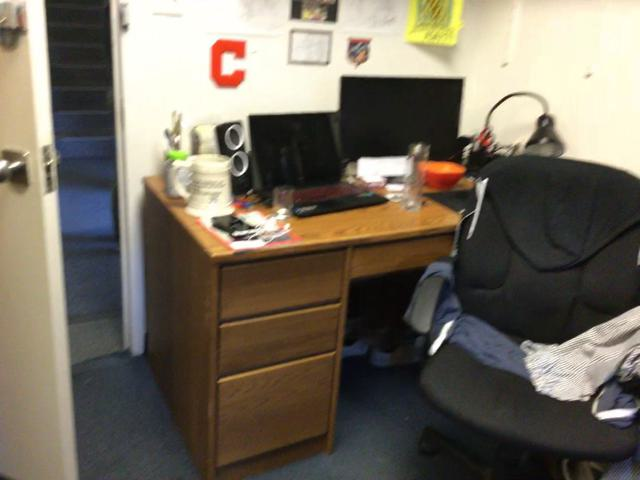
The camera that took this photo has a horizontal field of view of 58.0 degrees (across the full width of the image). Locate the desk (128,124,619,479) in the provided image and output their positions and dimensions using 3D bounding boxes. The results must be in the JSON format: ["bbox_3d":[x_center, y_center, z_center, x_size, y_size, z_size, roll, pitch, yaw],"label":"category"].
[{"bbox_3d":[0.170,0.100,2.200,1.540,0.900,0.820,-7,24,-28],"label":"desk"}]

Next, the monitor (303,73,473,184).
[{"bbox_3d":[0.260,-0.430,2.190,0.620,0.360,0.170,-7,24,-28],"label":"monitor"}]

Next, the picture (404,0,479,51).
[{"bbox_3d":[0.510,-0.960,2.390,0.280,0.320,0.100,-7,24,-28],"label":"picture"}]
